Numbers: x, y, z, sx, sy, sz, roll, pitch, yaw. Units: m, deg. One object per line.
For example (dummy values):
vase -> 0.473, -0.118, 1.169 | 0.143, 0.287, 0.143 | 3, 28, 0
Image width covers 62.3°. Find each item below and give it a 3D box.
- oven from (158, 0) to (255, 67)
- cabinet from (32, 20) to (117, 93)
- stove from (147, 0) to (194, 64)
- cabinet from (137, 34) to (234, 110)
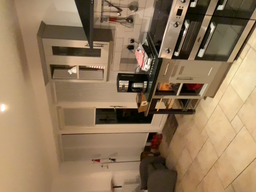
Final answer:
oven -> 0.840, -0.740, 2.410 | 0.630, 0.760, 0.510 | -100, 16, -45
cabinet -> -0.640, -0.450, 2.660 | 0.300, 0.880, 0.830 | -100, 16, -45
stove -> 0.430, -0.930, 2.140 | 0.630, 0.150, 1.020 | -100, 16, -45
cabinet -> 0.680, -0.300, 2.820 | 0.630, 0.900, 0.730 | -100, 16, -45
